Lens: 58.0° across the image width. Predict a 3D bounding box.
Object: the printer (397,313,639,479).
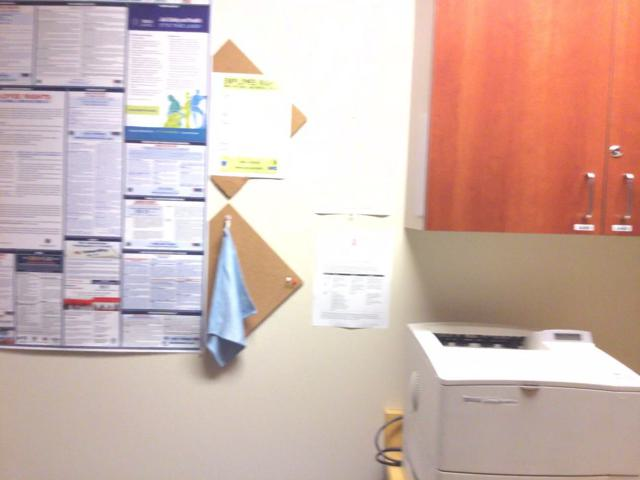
[{"bbox_3d":[0.410,0.400,1.260,0.420,0.390,0.430,3,2,2],"label":"printer"}]
